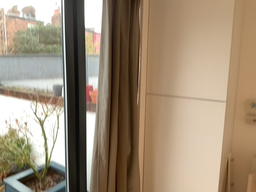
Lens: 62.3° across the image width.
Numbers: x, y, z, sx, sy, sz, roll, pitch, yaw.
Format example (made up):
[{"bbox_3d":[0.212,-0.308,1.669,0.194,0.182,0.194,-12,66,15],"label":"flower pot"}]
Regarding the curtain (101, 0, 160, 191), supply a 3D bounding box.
[{"bbox_3d":[0.020,0.200,1.500,0.170,2.220,0.430,7,10,34],"label":"curtain"}]
